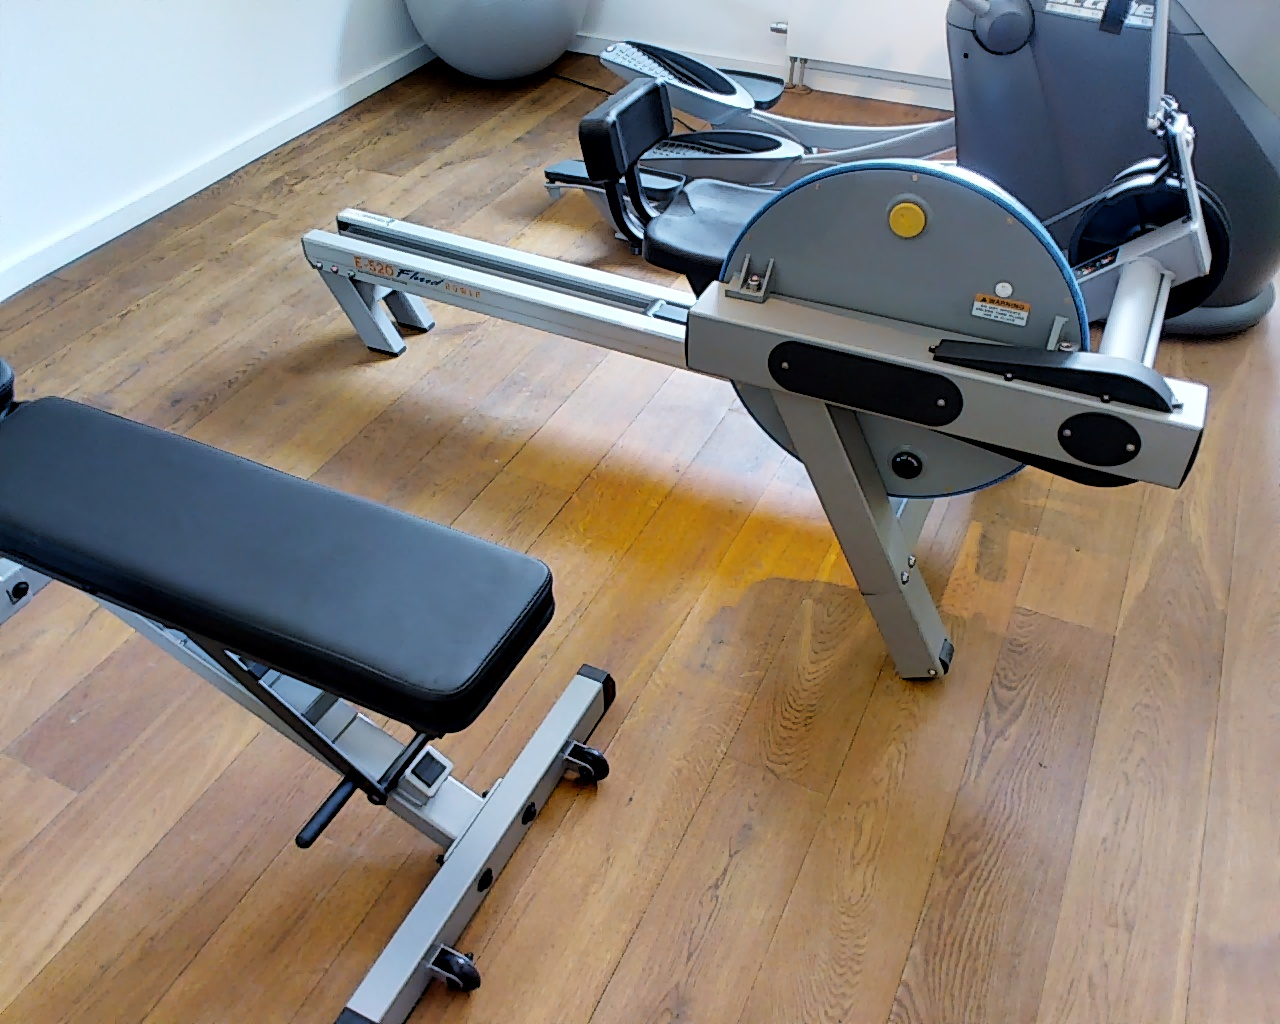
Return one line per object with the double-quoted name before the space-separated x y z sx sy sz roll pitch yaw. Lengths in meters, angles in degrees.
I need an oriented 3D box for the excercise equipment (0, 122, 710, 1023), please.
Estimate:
"excercise equipment" -0.910 -0.010 1.610 1.820 0.760 0.820 18 44 19
